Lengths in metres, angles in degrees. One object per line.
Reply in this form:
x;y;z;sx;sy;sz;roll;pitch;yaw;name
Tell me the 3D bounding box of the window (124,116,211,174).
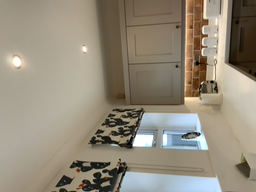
0.430;0.480;2.390;1.000;0.770;0.090;-63;-30;-67;window
